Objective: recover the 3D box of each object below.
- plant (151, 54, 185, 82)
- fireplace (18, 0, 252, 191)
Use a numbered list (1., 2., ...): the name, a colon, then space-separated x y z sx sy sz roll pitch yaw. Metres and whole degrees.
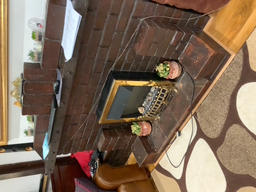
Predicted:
1. plant: 0.330 -0.230 1.770 0.140 0.190 0.170 63 141 39
2. fireplace: -0.190 -0.040 1.790 0.790 1.260 1.720 61 140 40
